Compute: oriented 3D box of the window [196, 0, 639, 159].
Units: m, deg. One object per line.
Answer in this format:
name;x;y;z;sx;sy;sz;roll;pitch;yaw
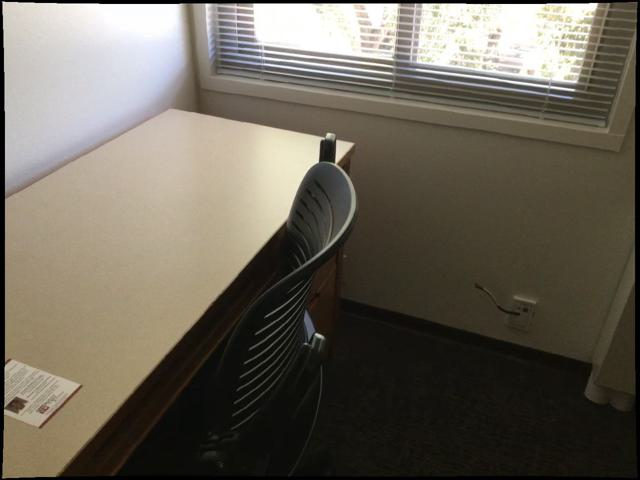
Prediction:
window;0.259;-0.692;1.530;1.257;0.691;0.220;14;36;18
